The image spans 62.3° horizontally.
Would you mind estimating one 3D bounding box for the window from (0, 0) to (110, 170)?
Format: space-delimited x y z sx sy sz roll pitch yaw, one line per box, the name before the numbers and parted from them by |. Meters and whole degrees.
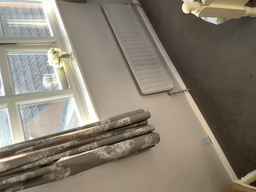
window | -1.020 -0.280 1.730 0.290 1.230 1.640 -53 54 50
